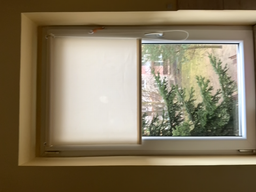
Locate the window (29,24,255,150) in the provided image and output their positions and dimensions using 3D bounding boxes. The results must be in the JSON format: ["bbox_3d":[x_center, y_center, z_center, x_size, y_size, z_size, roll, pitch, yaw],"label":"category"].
[{"bbox_3d":[0.110,-0.060,1.380,0.080,1.430,0.790,115,155,-86],"label":"window"}]
